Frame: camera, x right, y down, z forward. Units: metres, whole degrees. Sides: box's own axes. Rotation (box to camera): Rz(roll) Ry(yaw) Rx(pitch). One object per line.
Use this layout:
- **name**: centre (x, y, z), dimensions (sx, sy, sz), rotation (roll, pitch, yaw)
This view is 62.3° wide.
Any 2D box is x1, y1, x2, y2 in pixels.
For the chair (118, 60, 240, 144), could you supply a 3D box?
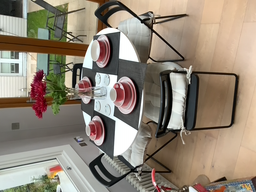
- **chair**: centre (0.380, -0.010, 1.600), dimensions (0.490, 0.740, 0.480), rotation (14, 103, 53)

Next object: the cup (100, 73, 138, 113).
- **cup**: centre (-0.070, -0.030, 1.480), dimensions (0.250, 0.130, 0.230), rotation (20, 108, 52)
